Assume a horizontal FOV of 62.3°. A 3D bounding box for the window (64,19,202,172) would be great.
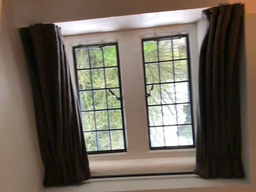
[{"bbox_3d":[0.050,0.010,1.650,0.950,1.070,0.110,-5,-175,1],"label":"window"}]
